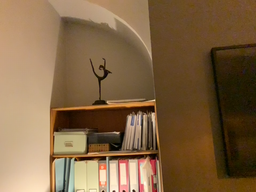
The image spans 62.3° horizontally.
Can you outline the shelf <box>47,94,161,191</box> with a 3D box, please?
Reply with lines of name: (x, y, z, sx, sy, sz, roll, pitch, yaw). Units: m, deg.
shelf: (-0.180, 0.620, 1.770, 0.870, 1.160, 0.350, -5, -10, 6)
